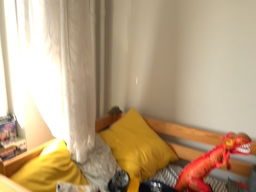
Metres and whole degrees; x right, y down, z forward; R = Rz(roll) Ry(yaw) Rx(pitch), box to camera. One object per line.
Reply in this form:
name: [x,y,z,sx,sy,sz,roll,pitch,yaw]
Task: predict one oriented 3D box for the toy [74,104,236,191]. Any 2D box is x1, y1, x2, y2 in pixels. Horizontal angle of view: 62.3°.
toy: [0.150,0.320,1.310,0.870,0.310,0.430,10,16,27]
